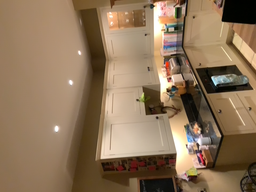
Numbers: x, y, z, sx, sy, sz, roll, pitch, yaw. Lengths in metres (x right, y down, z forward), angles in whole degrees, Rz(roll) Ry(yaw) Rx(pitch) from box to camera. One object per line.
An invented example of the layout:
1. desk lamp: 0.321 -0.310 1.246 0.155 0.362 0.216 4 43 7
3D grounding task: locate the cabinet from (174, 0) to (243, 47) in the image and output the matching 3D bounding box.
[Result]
1. cabinet: 1.310 -1.500 3.570 0.650 0.870 1.070 -93 -3 -49

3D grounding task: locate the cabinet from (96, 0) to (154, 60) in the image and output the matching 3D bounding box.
1. cabinet: -0.020 -1.220 3.960 0.370 0.960 0.930 -93 -3 -49
